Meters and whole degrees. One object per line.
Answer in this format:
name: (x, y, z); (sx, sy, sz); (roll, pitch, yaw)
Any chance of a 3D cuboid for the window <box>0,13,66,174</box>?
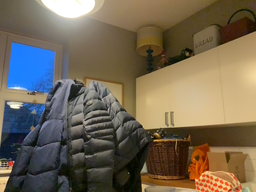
window: (-1.360, -0.040, 2.150); (1.280, 1.560, 0.350); (8, -15, -34)
